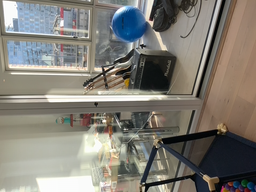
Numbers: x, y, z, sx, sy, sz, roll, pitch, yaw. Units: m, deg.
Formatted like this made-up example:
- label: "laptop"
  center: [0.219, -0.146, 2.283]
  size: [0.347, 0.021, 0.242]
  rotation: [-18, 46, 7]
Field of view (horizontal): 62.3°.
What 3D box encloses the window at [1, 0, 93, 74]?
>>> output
- label: "window"
  center: [-1.270, -1.180, 3.470]
  size: [0.070, 1.340, 1.680]
  rotation: [-124, 38, -59]
